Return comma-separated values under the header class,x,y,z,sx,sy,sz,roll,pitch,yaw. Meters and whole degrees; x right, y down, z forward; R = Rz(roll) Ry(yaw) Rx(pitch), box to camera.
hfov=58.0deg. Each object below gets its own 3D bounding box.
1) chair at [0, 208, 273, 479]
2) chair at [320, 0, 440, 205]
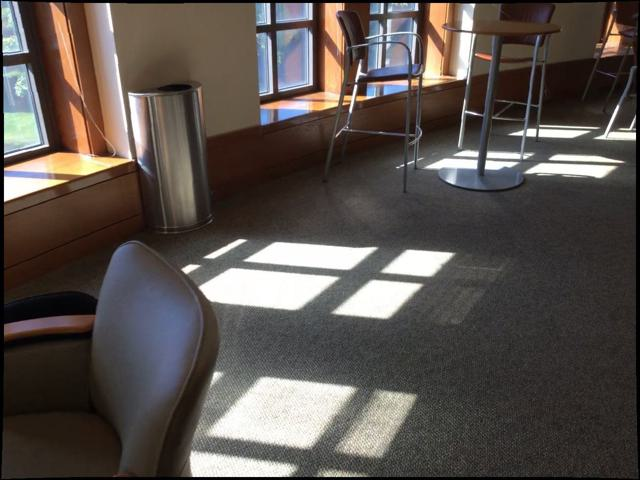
class,x,y,z,sx,sy,sz,roll,pitch,yaw
chair,-0.559,0.501,1.280,0.679,0.842,0.750,-14,27,-25
chair,0.399,-0.932,3.750,0.649,1.283,0.470,5,25,16
